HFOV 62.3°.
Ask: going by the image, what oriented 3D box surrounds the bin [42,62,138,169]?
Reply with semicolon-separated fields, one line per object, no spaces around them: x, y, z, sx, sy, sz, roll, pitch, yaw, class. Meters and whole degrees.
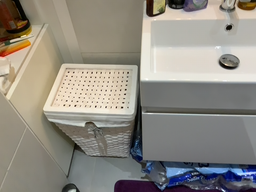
-0.140;0.130;1.140;0.360;0.550;0.300;2;51;5;bin
